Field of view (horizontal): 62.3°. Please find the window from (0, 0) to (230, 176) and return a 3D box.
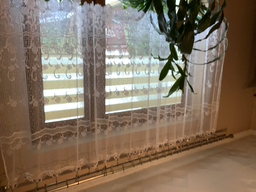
[{"bbox_3d":[0.130,-0.170,1.860,2.090,1.120,0.220,-7,-166,-33],"label":"window"}]
